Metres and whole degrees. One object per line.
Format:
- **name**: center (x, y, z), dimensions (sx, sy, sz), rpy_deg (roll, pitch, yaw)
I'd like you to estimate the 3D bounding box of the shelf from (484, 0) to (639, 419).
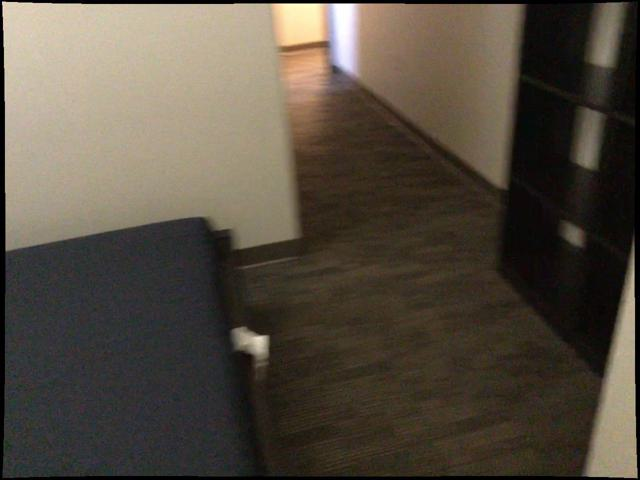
- **shelf**: center (0.959, -0.210, 1.710), dimensions (0.400, 1.181, 1.080), rpy_deg (-12, 30, -10)
